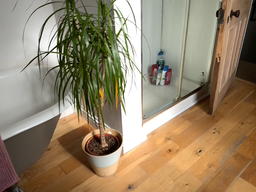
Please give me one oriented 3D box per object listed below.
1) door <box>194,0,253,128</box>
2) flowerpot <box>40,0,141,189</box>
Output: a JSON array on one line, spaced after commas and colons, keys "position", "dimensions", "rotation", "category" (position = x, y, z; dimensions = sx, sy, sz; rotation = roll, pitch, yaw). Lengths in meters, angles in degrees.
[{"position": [0.870, -0.800, 1.680], "dimensions": [0.130, 2.080, 0.830], "rotation": [19, 38, 31], "category": "door"}, {"position": [-0.160, 0.020, 1.230], "dimensions": [0.290, 1.020, 0.360], "rotation": [-28, 40, -34], "category": "flowerpot"}]
